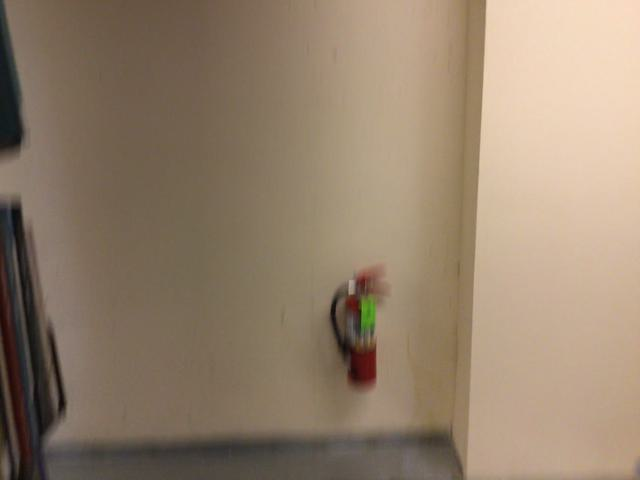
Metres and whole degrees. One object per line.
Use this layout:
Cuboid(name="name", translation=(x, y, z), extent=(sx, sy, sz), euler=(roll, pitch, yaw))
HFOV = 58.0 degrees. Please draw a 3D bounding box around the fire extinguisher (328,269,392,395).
Cuboid(name="fire extinguisher", translation=(0.140, 0.320, 2.000), extent=(0.190, 0.410, 0.100), euler=(-5, 16, -3))
